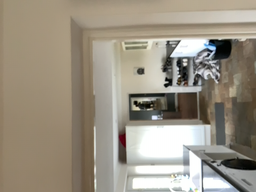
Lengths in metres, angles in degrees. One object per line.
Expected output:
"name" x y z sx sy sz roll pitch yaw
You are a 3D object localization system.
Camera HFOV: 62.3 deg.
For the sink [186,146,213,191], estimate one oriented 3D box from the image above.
"sink" 1.110 1.180 3.350 0.620 0.210 0.630 55 -146 -88
